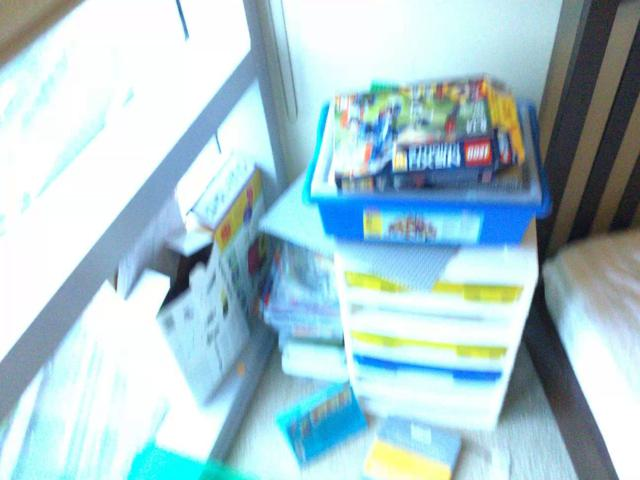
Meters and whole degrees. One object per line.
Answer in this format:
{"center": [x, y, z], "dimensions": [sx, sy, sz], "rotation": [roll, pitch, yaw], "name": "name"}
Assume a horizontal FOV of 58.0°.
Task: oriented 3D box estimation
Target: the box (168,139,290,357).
{"center": [-0.210, 0.030, 1.490], "dimensions": [0.180, 0.450, 0.320], "rotation": [-8, 45, 4], "name": "box"}

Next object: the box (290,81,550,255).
{"center": [0.180, -0.130, 1.050], "dimensions": [0.400, 0.200, 0.230], "rotation": [1, 47, 13], "name": "box"}

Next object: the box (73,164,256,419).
{"center": [-0.320, 0.140, 1.360], "dimensions": [0.220, 0.530, 0.310], "rotation": [-8, 45, 4], "name": "box"}
